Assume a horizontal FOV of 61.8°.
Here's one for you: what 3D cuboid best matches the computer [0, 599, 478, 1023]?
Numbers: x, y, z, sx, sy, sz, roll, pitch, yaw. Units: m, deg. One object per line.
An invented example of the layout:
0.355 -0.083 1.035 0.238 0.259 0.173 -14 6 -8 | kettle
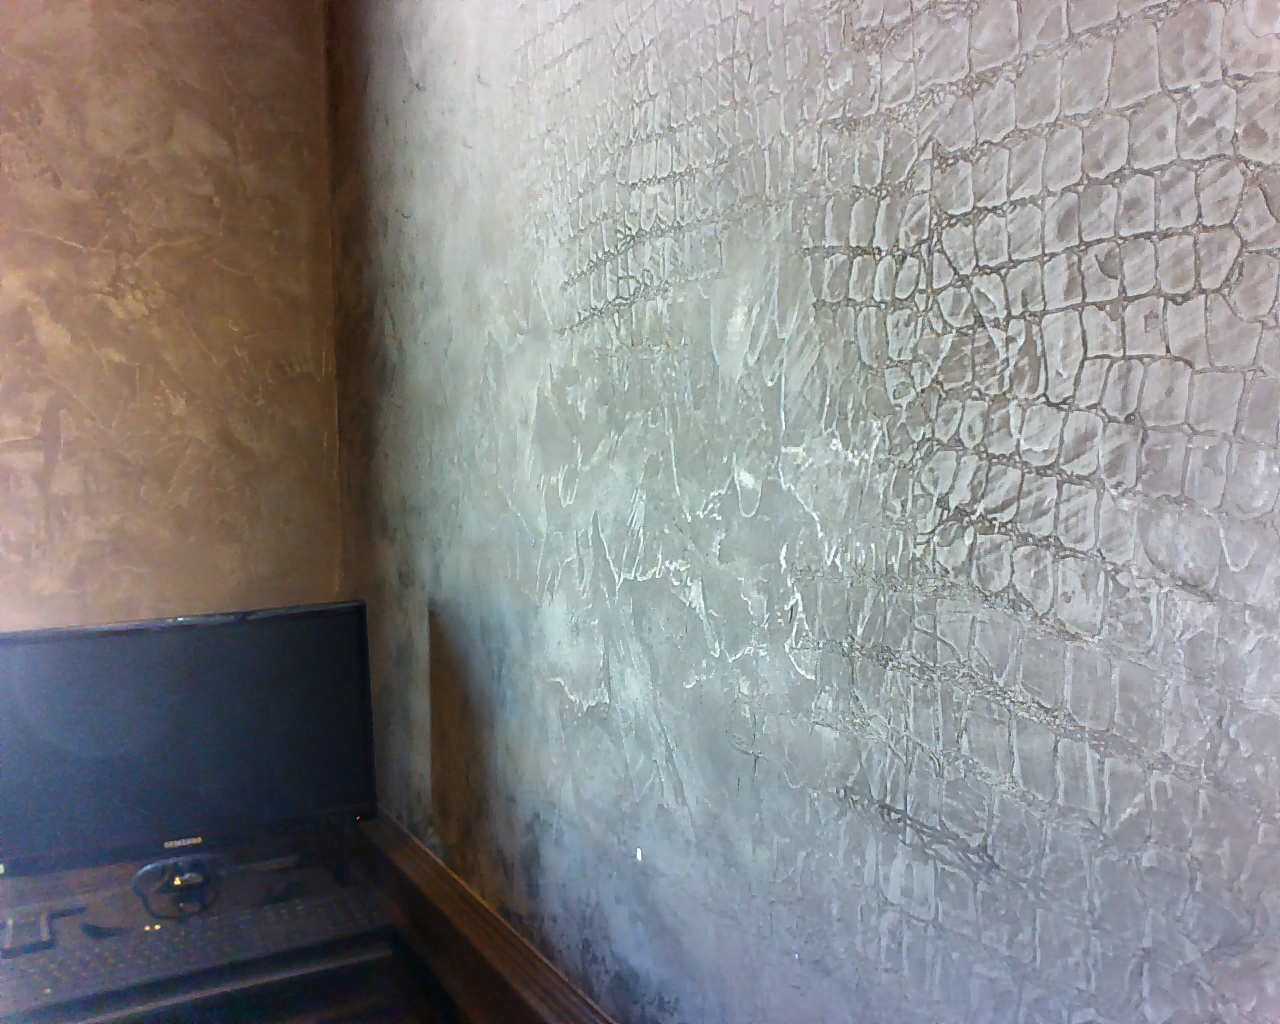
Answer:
-0.560 0.390 1.380 0.570 0.490 0.440 -1 1 -28 | computer
